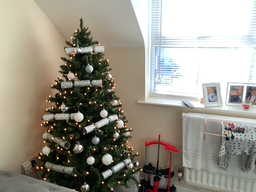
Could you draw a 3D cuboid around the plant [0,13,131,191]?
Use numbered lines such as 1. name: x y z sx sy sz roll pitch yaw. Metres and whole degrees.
1. plant: -0.420 0.230 1.810 0.710 1.660 0.650 5 16 21
